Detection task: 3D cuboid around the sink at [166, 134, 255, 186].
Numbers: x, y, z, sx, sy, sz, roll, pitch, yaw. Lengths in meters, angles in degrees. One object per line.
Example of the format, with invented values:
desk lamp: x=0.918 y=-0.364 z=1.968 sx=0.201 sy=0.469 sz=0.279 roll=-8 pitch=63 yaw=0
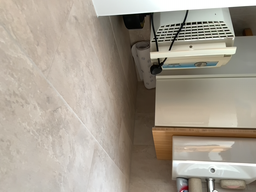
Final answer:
sink: x=0.440 y=0.350 z=1.110 sx=0.470 sy=0.130 sz=0.460 roll=0 pitch=149 yaw=10
